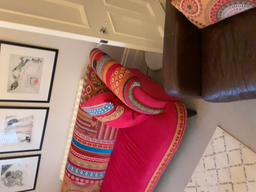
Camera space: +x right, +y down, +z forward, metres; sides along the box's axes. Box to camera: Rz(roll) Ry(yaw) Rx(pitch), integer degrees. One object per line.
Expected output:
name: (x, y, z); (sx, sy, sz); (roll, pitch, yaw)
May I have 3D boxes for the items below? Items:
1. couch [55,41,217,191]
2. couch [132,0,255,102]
couch: (-0.180, 0.810, 2.330); (1.000, 0.780, 2.470); (45, 125, 49)
couch: (0.580, -0.440, 1.160); (0.770, 0.810, 0.880); (-10, 80, 57)
